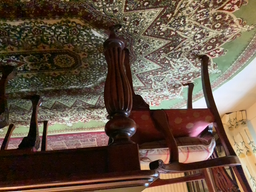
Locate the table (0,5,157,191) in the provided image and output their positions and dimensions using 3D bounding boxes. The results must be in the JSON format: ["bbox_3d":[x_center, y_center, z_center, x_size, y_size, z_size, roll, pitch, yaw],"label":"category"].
[{"bbox_3d":[-0.930,0.240,1.190,1.880,0.760,1.150,-3,152,-7],"label":"table"}]
